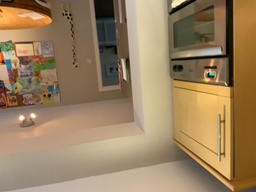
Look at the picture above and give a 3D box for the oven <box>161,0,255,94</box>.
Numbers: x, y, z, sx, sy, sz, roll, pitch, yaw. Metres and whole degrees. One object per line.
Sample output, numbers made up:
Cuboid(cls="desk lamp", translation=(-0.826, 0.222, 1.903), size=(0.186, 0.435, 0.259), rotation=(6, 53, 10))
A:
Cuboid(cls="oven", translation=(0.610, -0.310, 1.220), size=(0.630, 0.450, 0.630), rotation=(-6, -170, -11))
